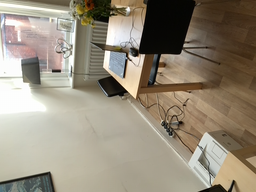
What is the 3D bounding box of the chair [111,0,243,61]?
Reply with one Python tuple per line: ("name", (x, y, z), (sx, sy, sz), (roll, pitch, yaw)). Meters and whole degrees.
("chair", (0.370, -0.540, 1.670), (0.450, 0.850, 0.400), (42, 129, 52))
